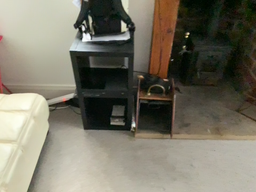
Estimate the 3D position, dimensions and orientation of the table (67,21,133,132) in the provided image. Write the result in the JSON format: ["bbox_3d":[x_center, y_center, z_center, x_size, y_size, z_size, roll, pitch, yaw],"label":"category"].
[{"bbox_3d":[-0.180,-0.150,1.760,0.400,0.760,0.490,2,41,1],"label":"table"}]

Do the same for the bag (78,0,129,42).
[{"bbox_3d":[-0.150,-0.660,1.430,0.310,0.480,0.300,2,41,0],"label":"bag"}]

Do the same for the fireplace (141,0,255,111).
[{"bbox_3d":[0.770,-0.550,1.920,1.190,1.190,0.740,0,41,-2],"label":"fireplace"}]
